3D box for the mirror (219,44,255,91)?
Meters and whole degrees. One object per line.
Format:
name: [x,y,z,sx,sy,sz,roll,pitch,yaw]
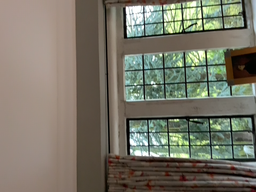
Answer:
mirror: [0.870,-0.210,1.580,0.140,0.280,0.270,14,-118,-74]
